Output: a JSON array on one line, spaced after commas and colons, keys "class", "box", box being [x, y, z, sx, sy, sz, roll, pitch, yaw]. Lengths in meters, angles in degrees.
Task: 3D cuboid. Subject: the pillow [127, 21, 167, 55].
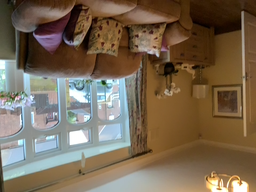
[{"class": "pillow", "box": [0.190, -0.630, 2.360, 0.400, 0.270, 0.390, -2, -177, 0]}]

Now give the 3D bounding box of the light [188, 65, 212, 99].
[{"class": "light", "box": [1.510, -0.290, 4.460, 0.330, 0.670, 0.350, -5, -176, -41]}]

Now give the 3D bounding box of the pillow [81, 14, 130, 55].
[{"class": "pillow", "box": [-0.230, -0.620, 2.190, 0.190, 0.320, 0.410, 32, -156, 35]}]

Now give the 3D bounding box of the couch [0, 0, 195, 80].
[{"class": "couch", "box": [-0.230, -0.720, 2.160, 1.730, 1.040, 0.940, -4, -176, -40]}]
